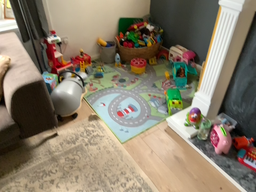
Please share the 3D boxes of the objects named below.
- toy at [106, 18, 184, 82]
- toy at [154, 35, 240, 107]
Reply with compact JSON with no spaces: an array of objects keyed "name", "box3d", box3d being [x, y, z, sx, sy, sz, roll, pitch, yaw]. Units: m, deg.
[{"name":"toy","box3d":[0.190,-0.590,2.570,0.680,0.420,0.590,-25,46,-29]},{"name":"toy","box3d":[0.690,-0.300,2.250,0.490,0.390,0.640,-25,46,-28]}]
